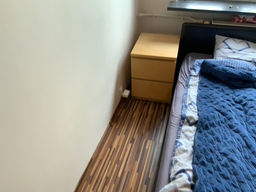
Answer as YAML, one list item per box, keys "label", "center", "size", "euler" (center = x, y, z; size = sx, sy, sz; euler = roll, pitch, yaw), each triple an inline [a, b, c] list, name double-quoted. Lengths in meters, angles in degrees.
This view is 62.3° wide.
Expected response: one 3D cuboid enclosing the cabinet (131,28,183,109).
- label: "cabinet"
  center: [0.310, -0.310, 2.220]
  size: [0.390, 0.550, 0.640]
  euler: [10, 40, 14]
